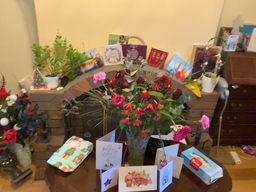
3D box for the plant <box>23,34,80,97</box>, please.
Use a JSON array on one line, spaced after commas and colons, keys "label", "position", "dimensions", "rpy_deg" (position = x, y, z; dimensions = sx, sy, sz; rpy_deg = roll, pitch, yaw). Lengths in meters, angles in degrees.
[{"label": "plant", "position": [-0.560, -0.240, 1.640], "dimensions": [0.330, 0.400, 0.300], "rpy_deg": [0, 28, -8]}]
